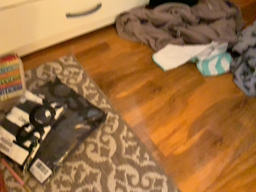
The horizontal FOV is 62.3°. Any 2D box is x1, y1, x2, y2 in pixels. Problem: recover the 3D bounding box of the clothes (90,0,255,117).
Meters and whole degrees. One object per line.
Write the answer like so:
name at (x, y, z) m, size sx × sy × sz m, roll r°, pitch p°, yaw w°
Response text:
clothes at (0.450, -0.350, 1.030) m, size 0.970 × 0.120 × 0.920 m, roll 16°, pitch 53°, yaw 4°
